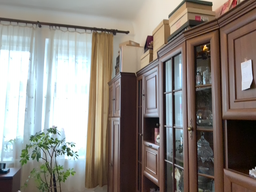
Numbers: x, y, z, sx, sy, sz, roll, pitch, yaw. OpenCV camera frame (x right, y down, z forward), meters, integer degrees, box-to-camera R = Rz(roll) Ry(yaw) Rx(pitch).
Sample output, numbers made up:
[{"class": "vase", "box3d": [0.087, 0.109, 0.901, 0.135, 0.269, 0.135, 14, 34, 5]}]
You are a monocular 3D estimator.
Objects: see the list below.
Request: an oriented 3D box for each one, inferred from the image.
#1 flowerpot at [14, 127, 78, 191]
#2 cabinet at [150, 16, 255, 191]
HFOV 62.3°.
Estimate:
[{"class": "flowerpot", "box3d": [-1.130, 1.130, 3.070, 0.730, 1.300, 0.880, 2, -5, -15]}, {"class": "cabinet", "box3d": [0.540, 0.250, 1.680, 0.430, 1.360, 0.910, 2, -5, -14]}]
